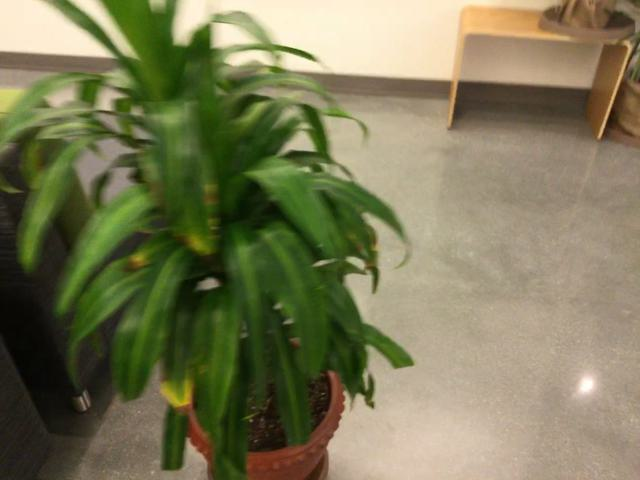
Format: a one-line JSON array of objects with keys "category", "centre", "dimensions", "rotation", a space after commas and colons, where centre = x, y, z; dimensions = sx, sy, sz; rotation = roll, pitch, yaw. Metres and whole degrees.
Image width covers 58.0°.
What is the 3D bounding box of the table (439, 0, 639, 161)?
[{"category": "table", "centre": [0.900, -0.690, 2.420], "dimensions": [0.730, 0.510, 0.430], "rotation": [6, 38, 8]}]
